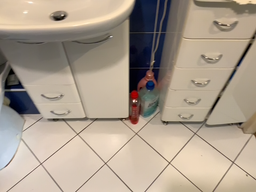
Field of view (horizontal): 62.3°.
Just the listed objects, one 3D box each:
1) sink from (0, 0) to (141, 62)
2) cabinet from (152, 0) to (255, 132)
[{"bbox_3d":[-0.250,-0.310,0.690,0.560,0.130,0.420,0,54,0],"label":"sink"},{"bbox_3d":[0.420,-0.160,1.020,0.510,0.860,0.310,0,54,0],"label":"cabinet"}]
